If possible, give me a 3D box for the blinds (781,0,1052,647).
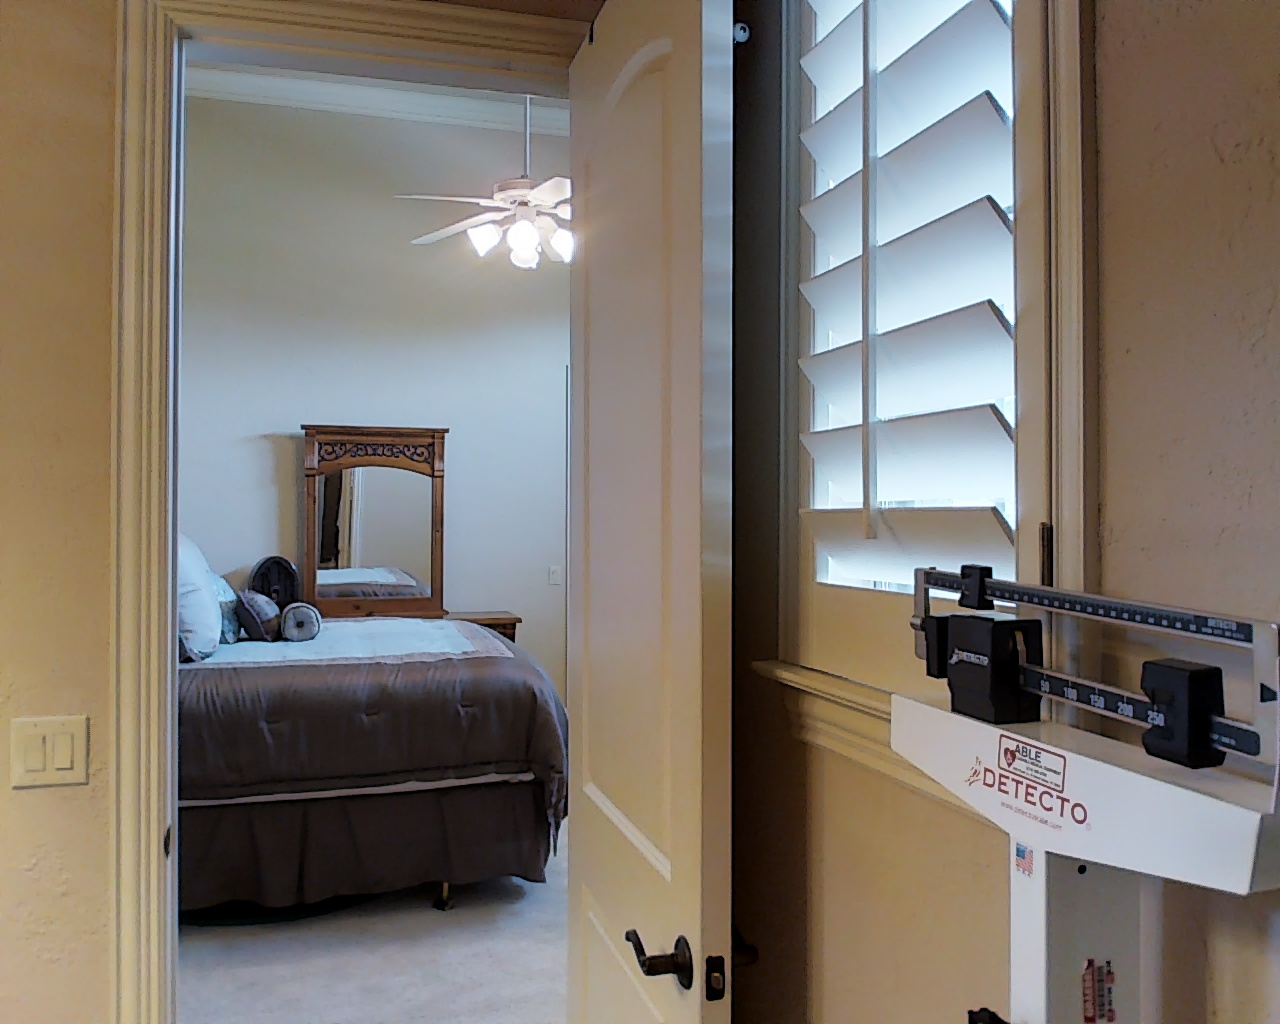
[{"bbox_3d":[0.300,-0.340,1.260,0.080,0.940,0.450,1,0,-17],"label":"blinds"}]

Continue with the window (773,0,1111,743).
[{"bbox_3d":[0.310,-0.370,1.250,0.060,1.150,0.600,1,0,-17],"label":"window"}]
